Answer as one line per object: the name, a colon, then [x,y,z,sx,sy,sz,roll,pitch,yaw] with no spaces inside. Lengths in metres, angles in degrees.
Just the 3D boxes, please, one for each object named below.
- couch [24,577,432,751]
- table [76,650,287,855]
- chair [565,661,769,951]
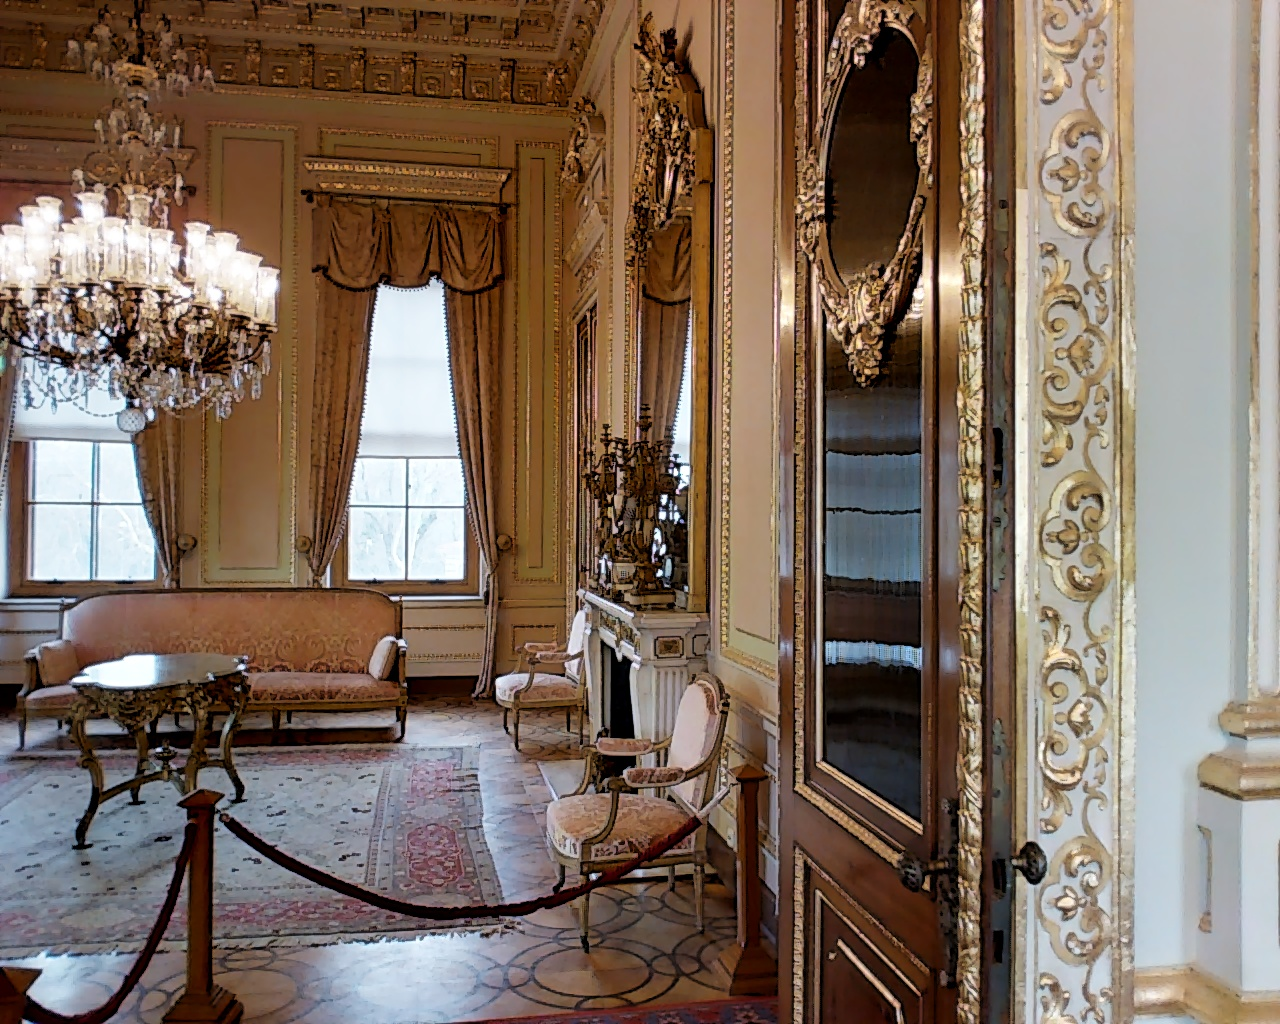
couch: [-3.059,1.120,8.300,2.829,1.171,0.830,0,0,-9]
table: [-2.459,1.261,5.920,0.830,0.830,1.190,0,0,-10]
chair: [0.090,1.201,4.590,0.750,1.020,0.680,0,0,-10]
